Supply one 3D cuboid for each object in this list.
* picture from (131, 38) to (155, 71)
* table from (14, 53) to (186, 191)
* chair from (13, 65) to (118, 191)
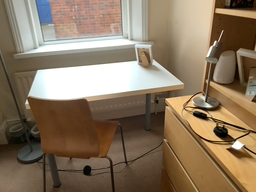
[{"bbox_3d":[0.120,-0.350,1.750,0.140,0.210,0.200,-8,28,-12],"label":"picture"},{"bbox_3d":[-0.190,0.150,1.710,1.030,0.750,0.640,-8,27,-11],"label":"table"},{"bbox_3d":[-0.310,0.280,1.390,0.440,0.830,0.480,-2,27,-1],"label":"chair"}]
